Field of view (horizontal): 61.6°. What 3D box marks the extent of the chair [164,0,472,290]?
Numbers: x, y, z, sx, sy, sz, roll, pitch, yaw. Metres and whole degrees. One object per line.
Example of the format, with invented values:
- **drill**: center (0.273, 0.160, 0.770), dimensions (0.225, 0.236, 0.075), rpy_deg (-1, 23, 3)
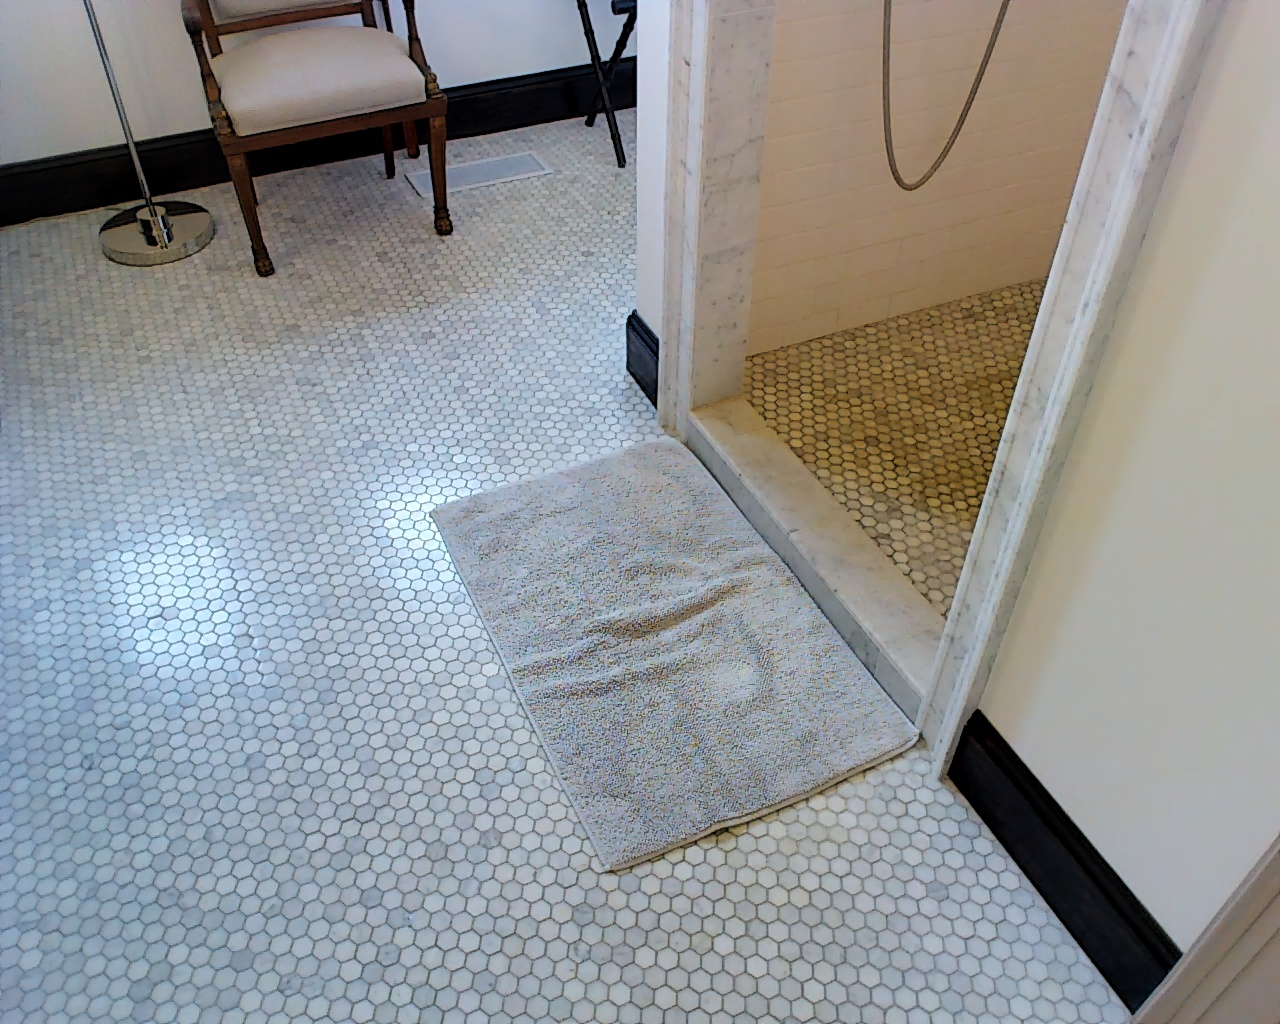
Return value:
- **chair**: center (-0.900, -1.220, 2.920), dimensions (0.610, 0.890, 0.680), rpy_deg (-17, 45, -19)
